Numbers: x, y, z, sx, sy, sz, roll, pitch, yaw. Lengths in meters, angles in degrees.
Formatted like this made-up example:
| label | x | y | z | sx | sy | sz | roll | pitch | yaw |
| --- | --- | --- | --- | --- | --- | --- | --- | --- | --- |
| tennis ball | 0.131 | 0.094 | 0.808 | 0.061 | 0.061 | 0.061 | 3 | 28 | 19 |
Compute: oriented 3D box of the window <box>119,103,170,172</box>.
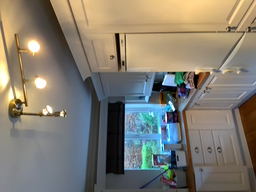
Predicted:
| label | x | y | z | sx | sy | sz | roll | pitch | yaw |
| --- | --- | --- | --- | --- | --- | --- | --- | --- | --- |
| window | 0.270 | 0.720 | 3.920 | 0.050 | 0.870 | 1.290 | 90 | 179 | -62 |
